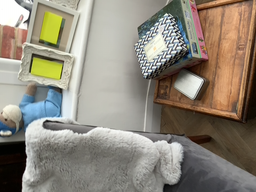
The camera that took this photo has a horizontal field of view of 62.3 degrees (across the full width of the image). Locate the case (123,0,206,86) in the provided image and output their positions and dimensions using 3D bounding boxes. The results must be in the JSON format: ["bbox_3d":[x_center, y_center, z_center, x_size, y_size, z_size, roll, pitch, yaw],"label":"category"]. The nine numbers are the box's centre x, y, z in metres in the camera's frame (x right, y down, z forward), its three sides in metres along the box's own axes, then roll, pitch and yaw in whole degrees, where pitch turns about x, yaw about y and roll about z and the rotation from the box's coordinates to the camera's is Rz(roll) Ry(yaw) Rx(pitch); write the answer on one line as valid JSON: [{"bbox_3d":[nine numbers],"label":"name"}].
[{"bbox_3d":[0.140,-0.240,0.920,0.270,0.140,0.300,-32,63,47],"label":"case"}]

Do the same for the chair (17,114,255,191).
[{"bbox_3d":[0.110,0.400,0.740,0.630,0.790,0.480,26,107,50],"label":"chair"}]
